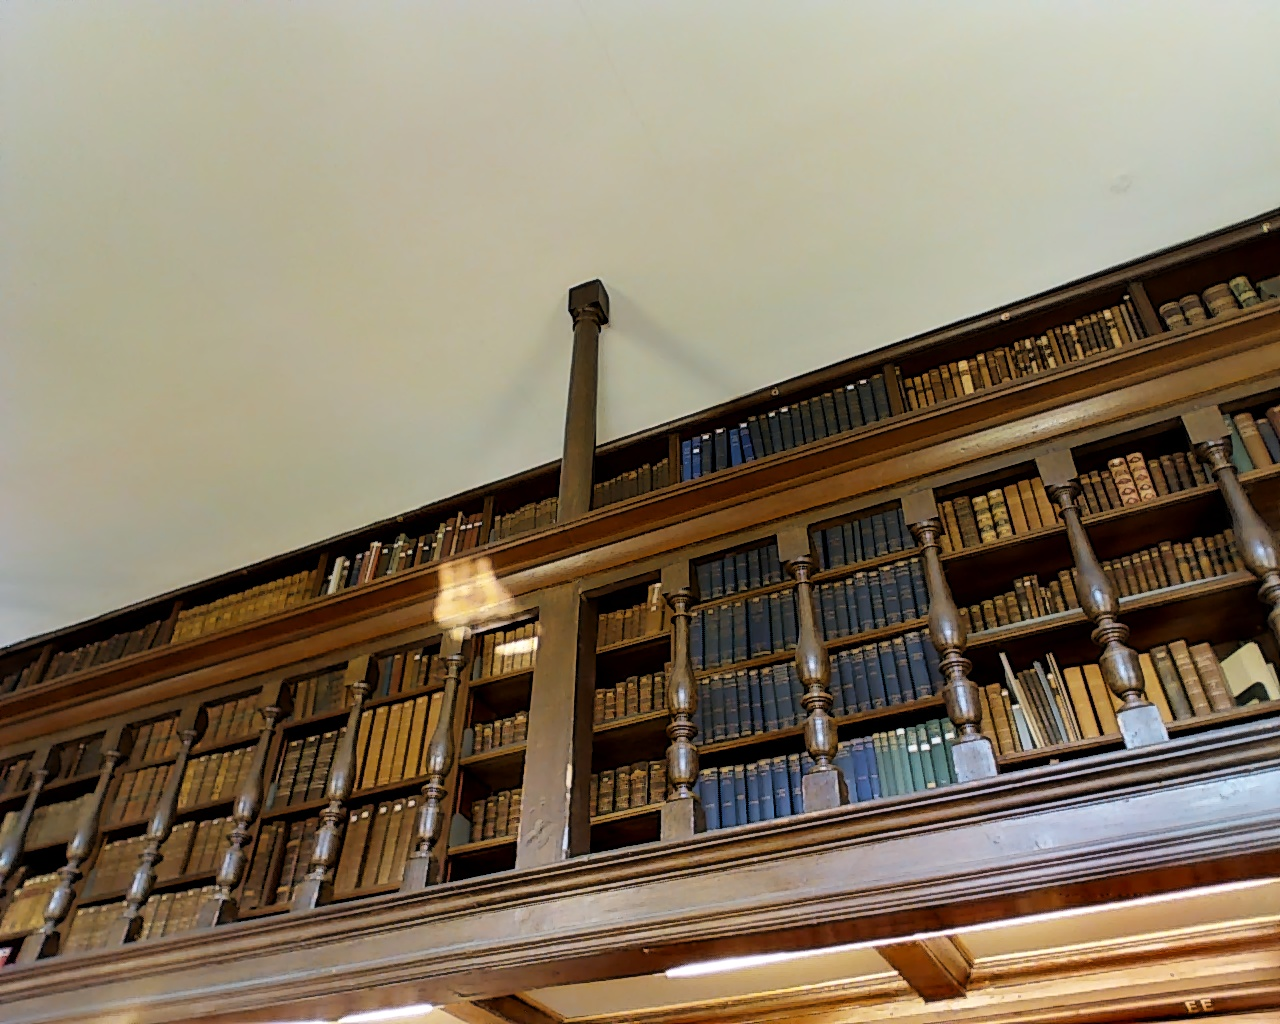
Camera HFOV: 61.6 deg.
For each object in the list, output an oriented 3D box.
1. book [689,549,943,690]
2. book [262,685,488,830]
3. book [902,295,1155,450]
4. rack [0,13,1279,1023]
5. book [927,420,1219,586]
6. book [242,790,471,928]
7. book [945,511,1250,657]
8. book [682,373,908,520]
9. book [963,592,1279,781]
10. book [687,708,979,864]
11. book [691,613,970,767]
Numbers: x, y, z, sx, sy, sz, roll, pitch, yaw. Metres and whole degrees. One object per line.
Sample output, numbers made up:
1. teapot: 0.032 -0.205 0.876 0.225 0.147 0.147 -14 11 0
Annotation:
1. book: 0.530 0.340 3.330 0.750 0.220 0.150 -16 -45 18
2. book: -0.940 0.880 3.820 0.820 0.320 0.130 -18 -45 20
3. book: 1.280 -0.460 3.590 0.740 0.260 0.150 -18 -45 20
4. rack: -1.730 0.820 3.850 12.349 2.070 0.840 -18 -45 20
5. book: 1.280 -0.020 3.230 0.760 0.270 0.150 -17 -45 19
6. book: -0.940 1.160 3.570 0.750 0.270 0.170 -18 -45 20
7. book: 1.270 0.210 3.030 0.760 0.190 0.120 -17 -45 19
8. book: 0.540 -0.230 3.870 0.780 0.260 0.160 -18 -45 20
9. book: 1.250 0.460 2.790 0.730 0.290 0.150 -18 -45 20
10. book: 0.510 0.760 2.950 0.760 0.240 0.150 -17 -45 19
11. book: 0.540 0.530 3.160 0.780 0.250 0.140 -17 -45 19
